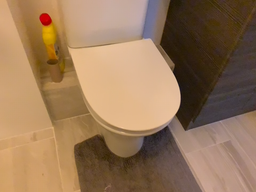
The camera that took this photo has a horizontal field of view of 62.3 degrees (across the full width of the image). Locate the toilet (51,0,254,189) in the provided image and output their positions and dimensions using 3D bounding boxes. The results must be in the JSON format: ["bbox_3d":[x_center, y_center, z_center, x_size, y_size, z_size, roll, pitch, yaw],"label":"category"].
[{"bbox_3d":[-0.040,-0.090,0.870,0.390,0.760,0.590,-13,54,-16],"label":"toilet"}]
